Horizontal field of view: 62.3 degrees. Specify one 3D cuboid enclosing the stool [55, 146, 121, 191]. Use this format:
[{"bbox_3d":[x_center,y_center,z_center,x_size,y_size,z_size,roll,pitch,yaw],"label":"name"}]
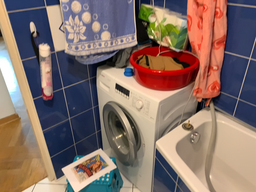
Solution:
[{"bbox_3d":[-0.250,0.580,1.480,0.370,0.320,0.300,0,32,2],"label":"stool"}]
